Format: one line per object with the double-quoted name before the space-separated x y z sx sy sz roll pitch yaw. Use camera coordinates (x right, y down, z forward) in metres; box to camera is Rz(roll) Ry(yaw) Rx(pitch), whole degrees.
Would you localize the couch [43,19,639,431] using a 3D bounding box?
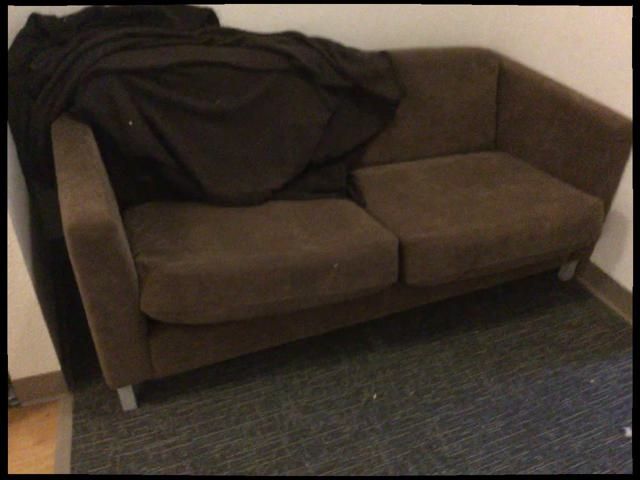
"couch" 0.070 -0.190 1.940 1.677 0.691 0.940 -12 38 -17
